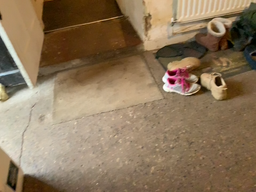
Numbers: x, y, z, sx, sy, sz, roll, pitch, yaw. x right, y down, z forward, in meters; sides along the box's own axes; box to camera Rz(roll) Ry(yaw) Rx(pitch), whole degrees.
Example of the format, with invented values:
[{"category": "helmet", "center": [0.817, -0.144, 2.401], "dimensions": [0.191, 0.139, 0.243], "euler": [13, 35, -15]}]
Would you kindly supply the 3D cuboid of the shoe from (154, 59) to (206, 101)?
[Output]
[{"category": "shoe", "center": [0.420, -0.140, 1.690], "dimensions": [0.330, 0.080, 0.340], "euler": [14, 48, 19]}]
